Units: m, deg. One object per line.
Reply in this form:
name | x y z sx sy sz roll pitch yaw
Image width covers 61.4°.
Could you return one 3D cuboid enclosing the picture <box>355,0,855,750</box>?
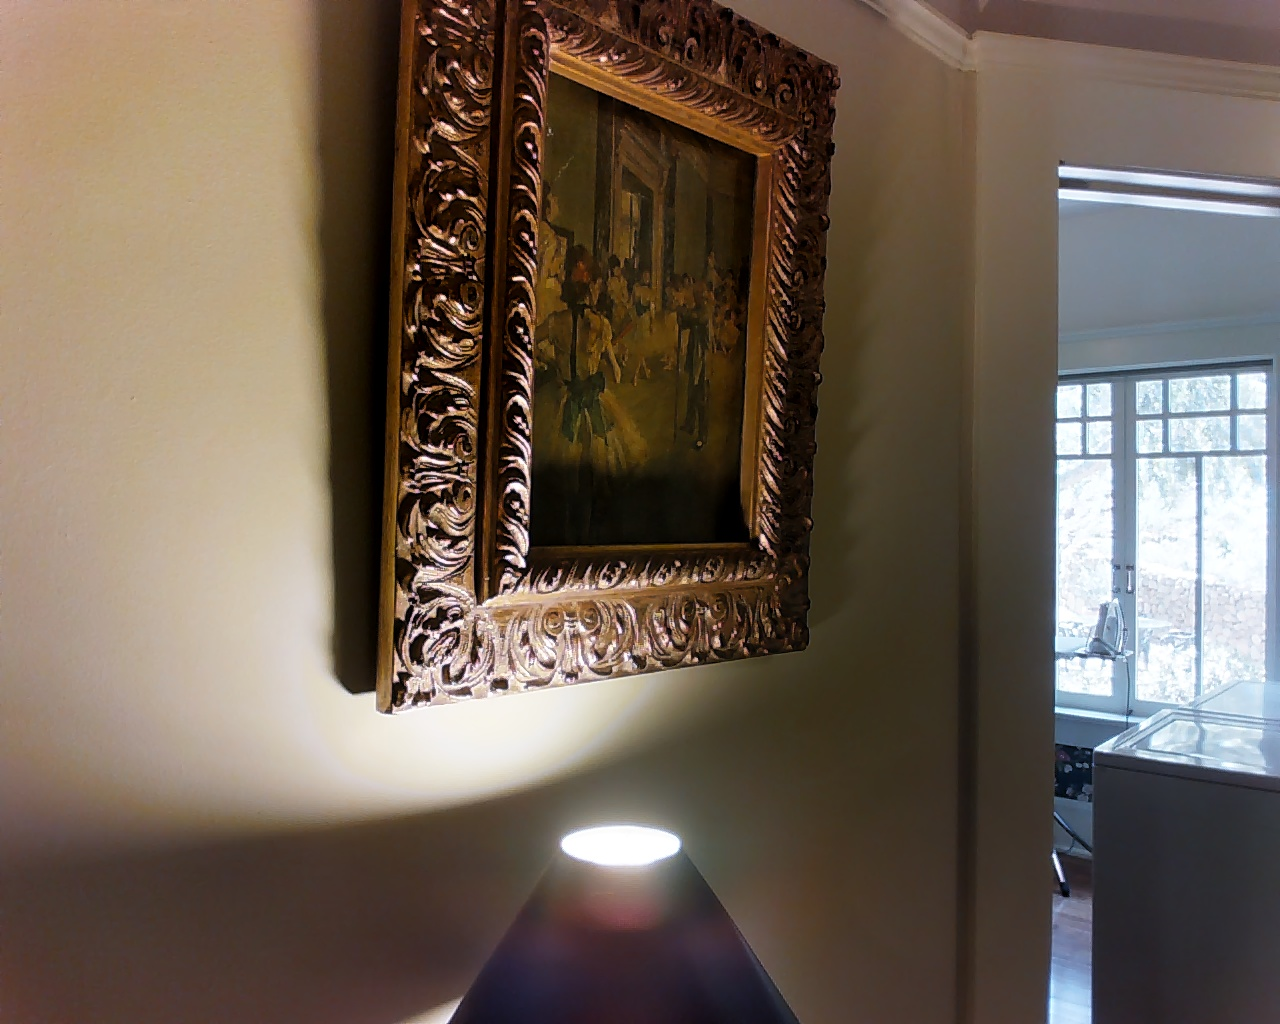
picture | 0.010 -0.200 1.120 0.110 0.770 0.630 0 1 42
